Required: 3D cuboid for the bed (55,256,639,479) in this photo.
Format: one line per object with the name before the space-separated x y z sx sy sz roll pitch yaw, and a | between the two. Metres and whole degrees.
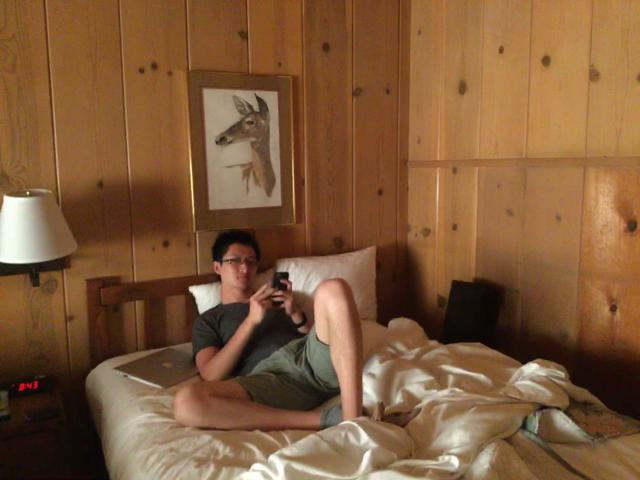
bed | 0.040 0.700 1.830 1.480 1.010 2.000 -3 6 -27
